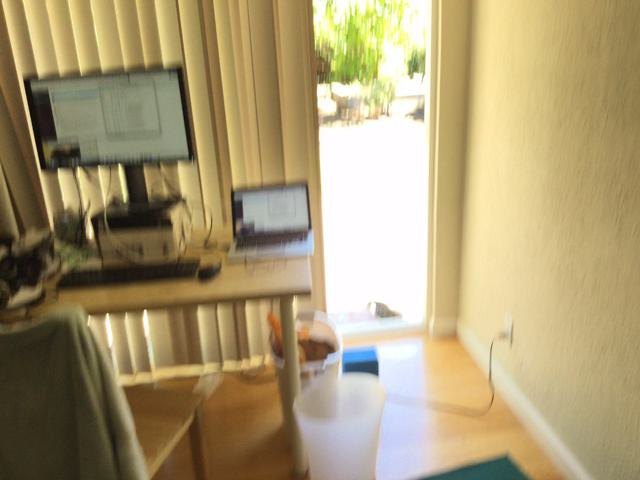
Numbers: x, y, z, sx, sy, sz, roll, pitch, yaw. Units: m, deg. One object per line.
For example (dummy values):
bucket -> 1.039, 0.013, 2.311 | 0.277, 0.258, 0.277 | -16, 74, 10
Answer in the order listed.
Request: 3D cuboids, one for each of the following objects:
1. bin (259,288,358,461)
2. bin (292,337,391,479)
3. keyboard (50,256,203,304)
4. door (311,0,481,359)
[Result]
bin -> -0.060, 0.500, 2.260 | 0.300, 0.470, 0.460 | -3, 16, -11
bin -> 0.060, 0.610, 2.020 | 0.260, 0.400, 0.360 | -3, 16, -11
keyboard -> -0.640, 0.130, 1.970 | 0.470, 0.070, 0.200 | -3, 16, -11
door -> 0.310, -0.460, 2.560 | 0.660, 1.990, 0.240 | -3, 16, -11
